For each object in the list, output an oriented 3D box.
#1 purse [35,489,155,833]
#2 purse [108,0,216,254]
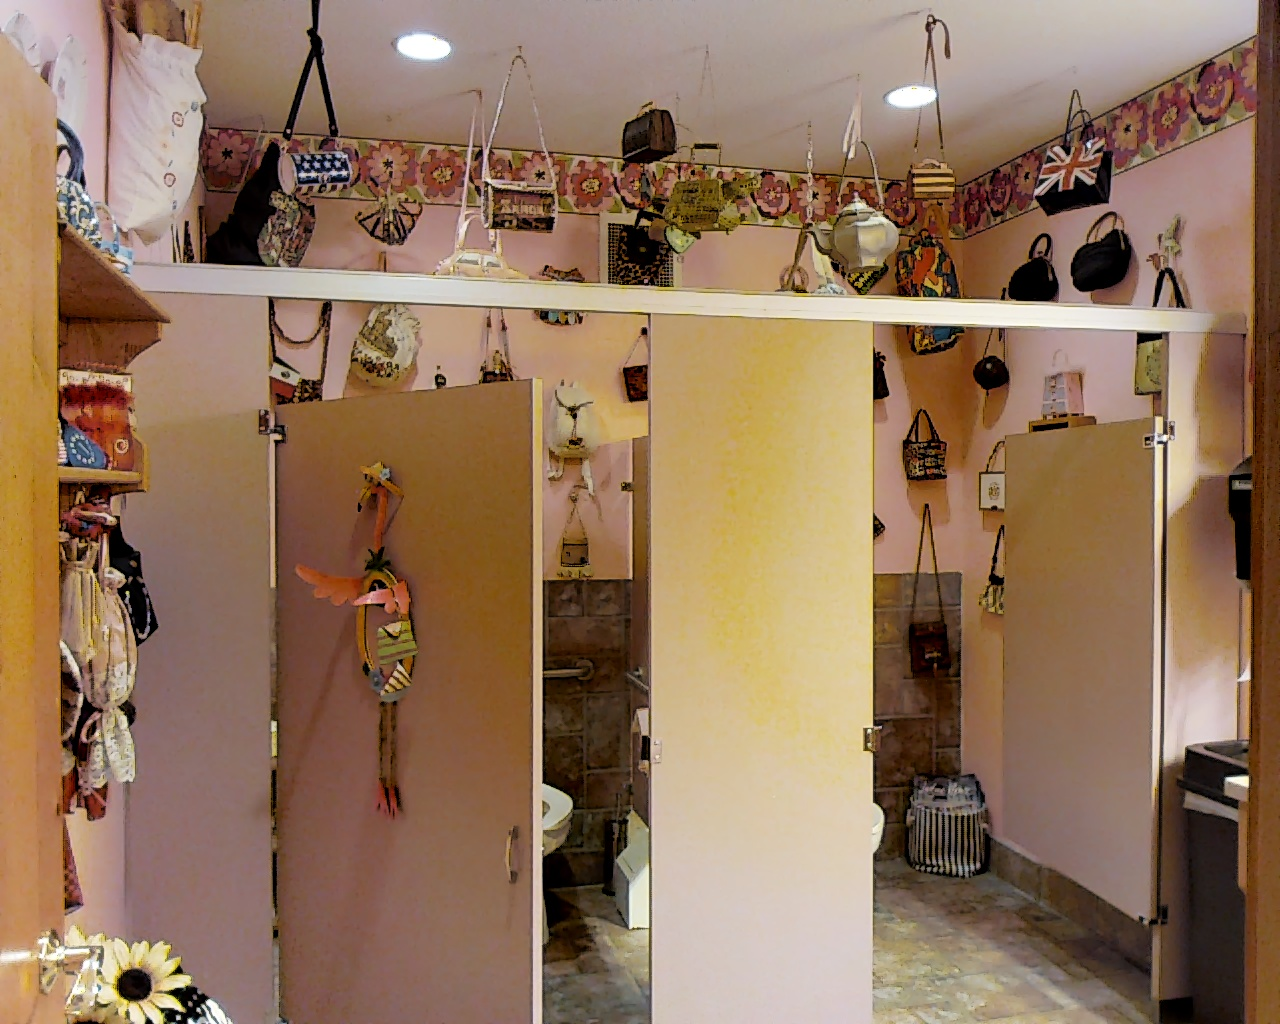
[{"bbox_3d":[-0.970,0.250,1.930,0.150,0.580,0.200,0,1,-14],"label":"purse"},{"bbox_3d":[-1.060,-0.870,2.400,0.190,0.540,0.180,0,1,-14],"label":"purse"}]
